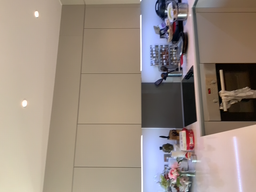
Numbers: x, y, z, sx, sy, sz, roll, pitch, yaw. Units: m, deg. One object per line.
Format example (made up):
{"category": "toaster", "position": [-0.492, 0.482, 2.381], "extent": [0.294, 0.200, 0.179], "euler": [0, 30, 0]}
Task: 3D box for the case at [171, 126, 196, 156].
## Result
{"category": "case", "position": [0.600, 0.500, 2.330], "extent": [0.310, 0.180, 0.300], "euler": [86, -175, -75]}
